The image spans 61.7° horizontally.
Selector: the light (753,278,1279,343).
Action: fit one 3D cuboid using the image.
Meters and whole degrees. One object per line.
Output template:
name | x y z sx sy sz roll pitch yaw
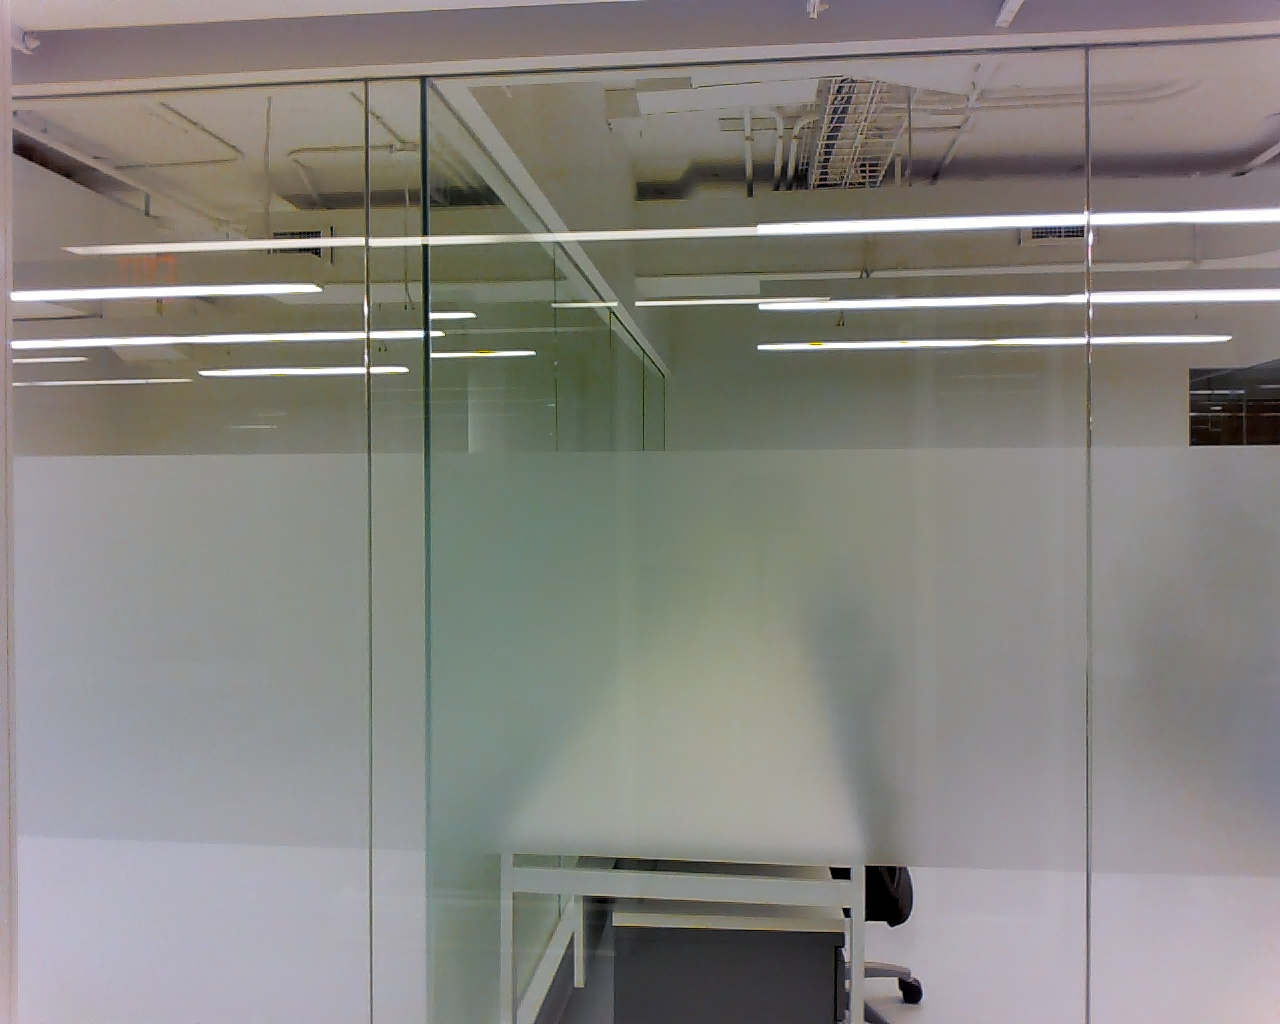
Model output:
light | 1.710 -0.820 4.380 2.479 0.200 0.160 0 1 6
